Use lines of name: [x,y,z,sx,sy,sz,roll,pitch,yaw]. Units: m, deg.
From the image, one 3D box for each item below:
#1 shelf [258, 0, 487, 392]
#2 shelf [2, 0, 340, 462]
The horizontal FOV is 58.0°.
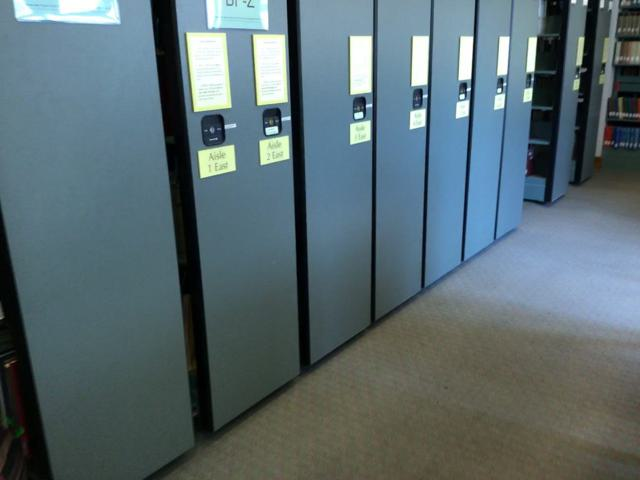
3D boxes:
shelf: [0.410,-0.550,2.870,0.180,1.990,1.700,9,23,37]
shelf: [-0.530,-0.240,2.280,0.830,1.860,0.690,9,23,37]
